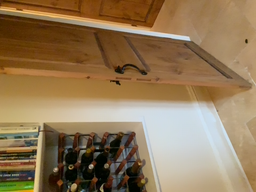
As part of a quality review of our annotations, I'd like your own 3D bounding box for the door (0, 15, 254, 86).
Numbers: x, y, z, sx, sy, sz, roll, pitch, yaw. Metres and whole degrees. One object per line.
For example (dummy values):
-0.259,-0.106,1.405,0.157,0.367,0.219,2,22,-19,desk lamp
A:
-0.140,-0.310,1.350,0.760,1.730,0.030,-115,33,-55,door
